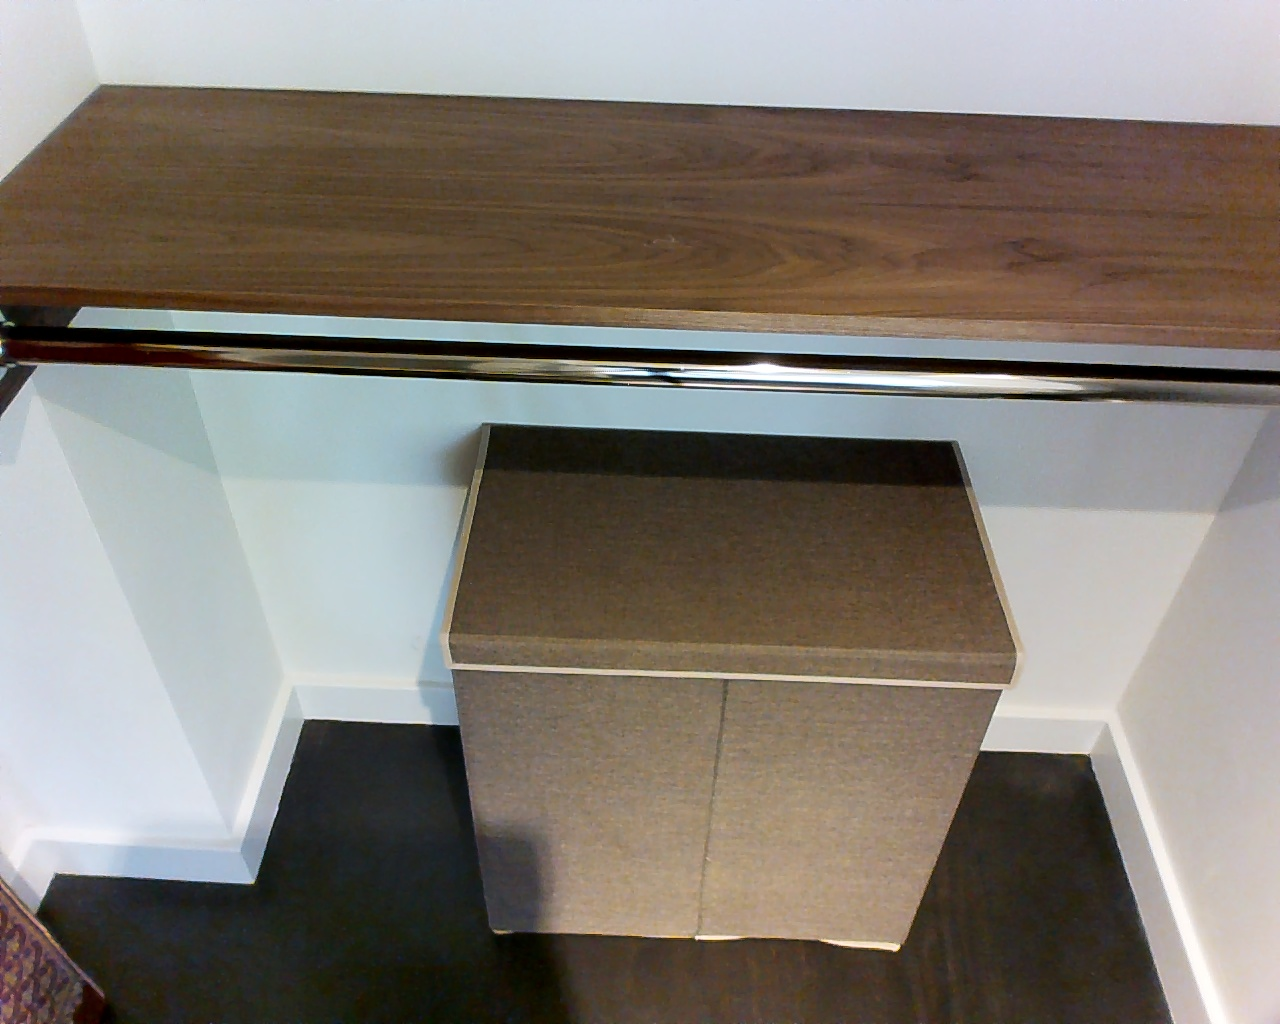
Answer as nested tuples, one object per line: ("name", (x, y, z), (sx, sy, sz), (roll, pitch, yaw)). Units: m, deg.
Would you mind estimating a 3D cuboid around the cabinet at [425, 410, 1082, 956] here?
("cabinet", (0.120, 0.260, 1.520), (0.700, 0.670, 0.400), (2, 42, 1))
